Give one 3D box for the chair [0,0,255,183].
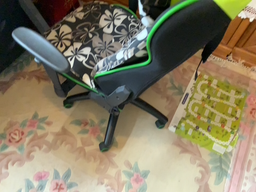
[{"bbox_3d":[-0.070,-0.310,0.910,0.930,1.240,0.670,37,64,15],"label":"chair"}]
